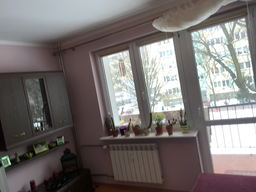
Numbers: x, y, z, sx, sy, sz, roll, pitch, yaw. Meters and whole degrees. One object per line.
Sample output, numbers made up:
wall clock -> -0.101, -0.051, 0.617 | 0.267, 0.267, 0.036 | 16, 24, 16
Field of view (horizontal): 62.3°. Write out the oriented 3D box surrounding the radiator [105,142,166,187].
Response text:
radiator -> 0.100, 1.020, 3.190 | 0.850, 0.590, 0.140 | -9, 3, 28

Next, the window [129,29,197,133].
window -> 0.500, -0.170, 3.090 | 0.740, 1.390, 0.120 | -9, 3, 27
